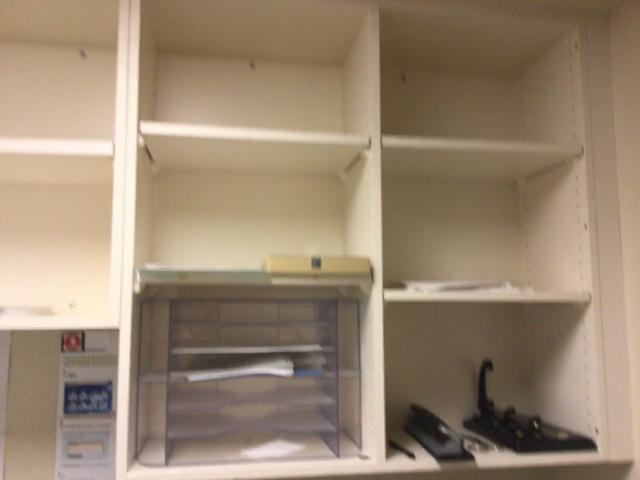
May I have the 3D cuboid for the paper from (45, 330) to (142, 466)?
[{"bbox_3d":[-0.520,0.360,1.340,0.190,0.300,0.030,1,-11,-9],"label":"paper"}]
